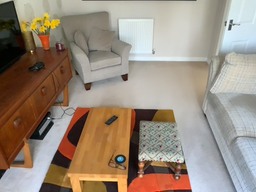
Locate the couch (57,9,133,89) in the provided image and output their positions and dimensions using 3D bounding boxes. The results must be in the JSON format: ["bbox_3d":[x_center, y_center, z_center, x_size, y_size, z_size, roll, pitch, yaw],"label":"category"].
[{"bbox_3d":[-0.510,-0.790,3.350,0.850,0.890,0.900,-15,35,-23],"label":"couch"}]
